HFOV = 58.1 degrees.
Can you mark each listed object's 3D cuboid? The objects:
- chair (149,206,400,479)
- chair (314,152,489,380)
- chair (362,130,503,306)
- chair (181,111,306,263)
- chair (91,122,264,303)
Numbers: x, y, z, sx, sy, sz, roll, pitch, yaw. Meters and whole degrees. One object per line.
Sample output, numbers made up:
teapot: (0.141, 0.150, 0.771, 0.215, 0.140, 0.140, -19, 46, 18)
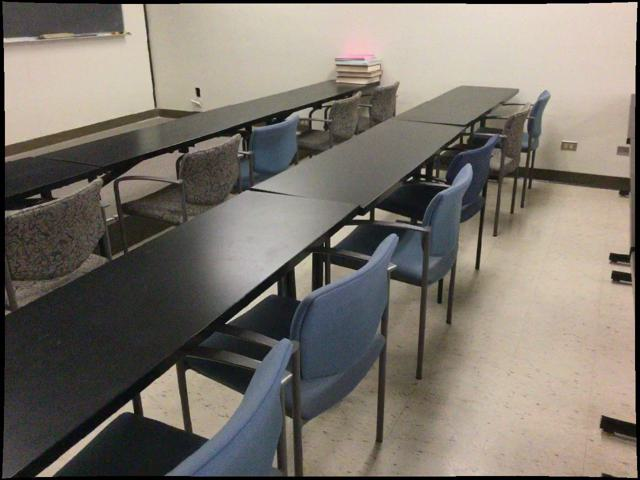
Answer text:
chair: (-0.100, 0.361, 1.750, 0.489, 0.742, 0.520, 12, 26, 30)
chair: (0.339, 0.070, 2.420, 0.499, 0.712, 0.550, 14, 27, 30)
chair: (0.559, -0.140, 2.930, 0.489, 0.702, 0.490, 17, 28, 37)
chair: (-0.439, -0.341, 3.480, 0.519, 0.762, 0.470, 10, 25, 25)
chair: (-0.708, -0.180, 3.030, 0.539, 0.732, 0.610, 9, 25, 25)
